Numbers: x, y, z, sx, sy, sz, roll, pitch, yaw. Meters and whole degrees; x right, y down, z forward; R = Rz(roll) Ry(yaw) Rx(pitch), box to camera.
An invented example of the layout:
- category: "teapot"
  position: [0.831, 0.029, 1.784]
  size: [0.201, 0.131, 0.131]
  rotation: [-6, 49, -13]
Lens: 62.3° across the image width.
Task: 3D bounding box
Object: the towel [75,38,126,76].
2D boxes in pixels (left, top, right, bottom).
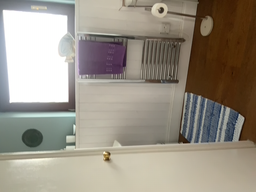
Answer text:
- category: "towel"
  position: [-0.250, -0.360, 1.940]
  size: [0.160, 0.420, 0.300]
  rotation: [-133, 39, -72]
